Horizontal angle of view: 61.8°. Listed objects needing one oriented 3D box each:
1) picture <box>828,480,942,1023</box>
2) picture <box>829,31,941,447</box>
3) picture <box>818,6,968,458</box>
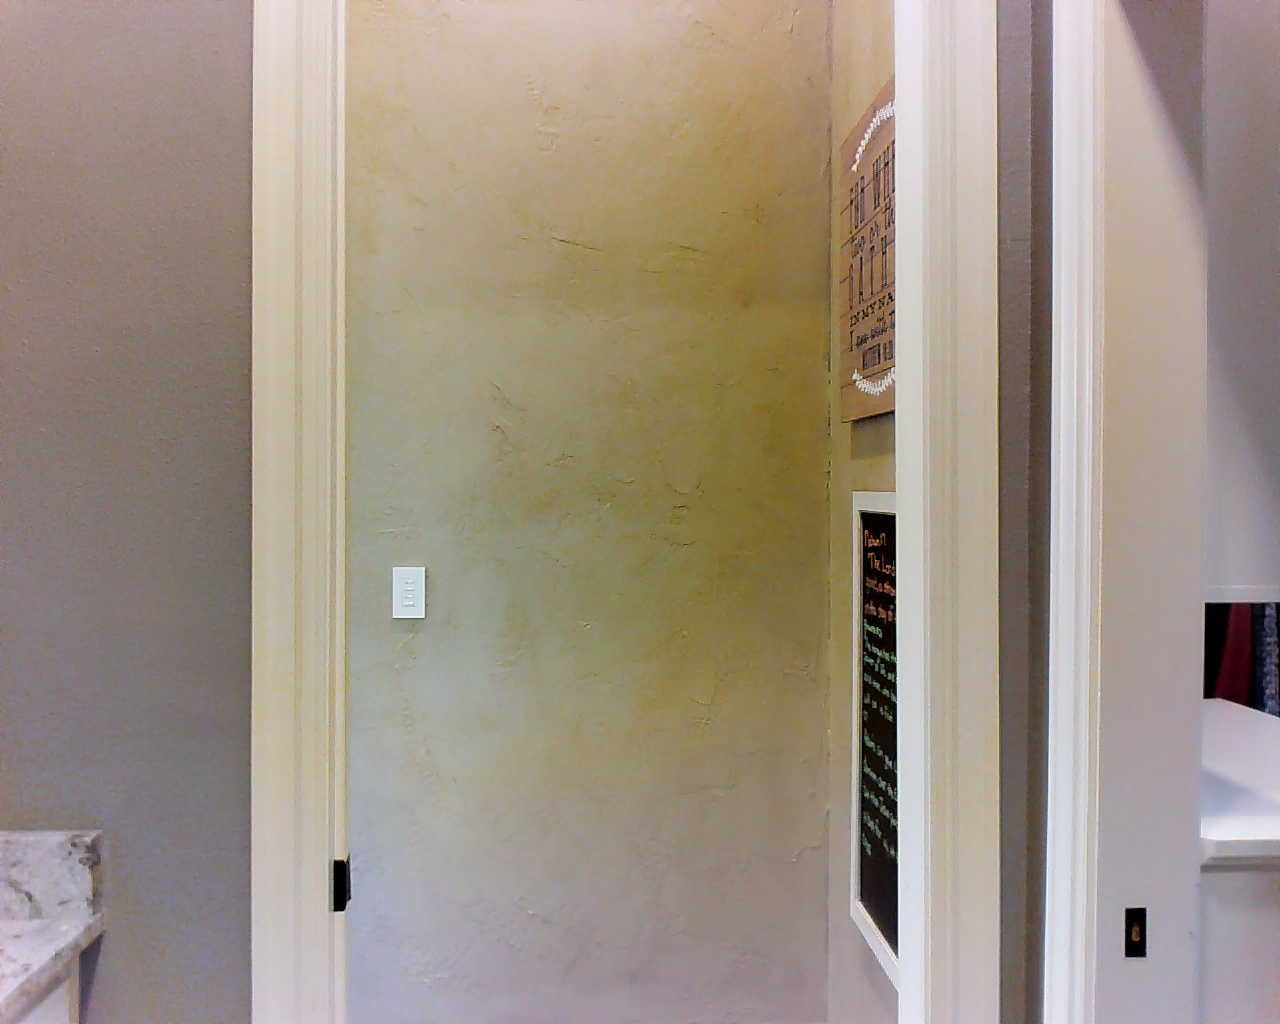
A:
[{"bbox_3d":[0.460,0.440,2.070,0.070,0.990,0.520,1,0,-2],"label":"picture"},{"bbox_3d":[0.460,-0.470,2.080,0.040,0.650,0.630,1,0,-2],"label":"picture"},{"bbox_3d":[0.460,-0.460,2.050,0.080,0.680,0.720,1,0,-2],"label":"picture"}]
